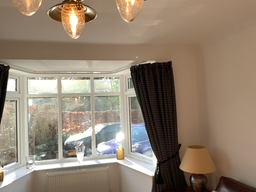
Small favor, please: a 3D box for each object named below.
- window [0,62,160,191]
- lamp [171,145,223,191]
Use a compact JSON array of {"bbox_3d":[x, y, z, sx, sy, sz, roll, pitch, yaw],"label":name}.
[{"bbox_3d":[-0.910,0.390,3.410,2.540,1.680,1.050,-2,-3,-11],"label":"window"},{"bbox_3d":[0.880,0.950,2.760,0.470,0.520,0.430,-2,-3,-13],"label":"lamp"}]
